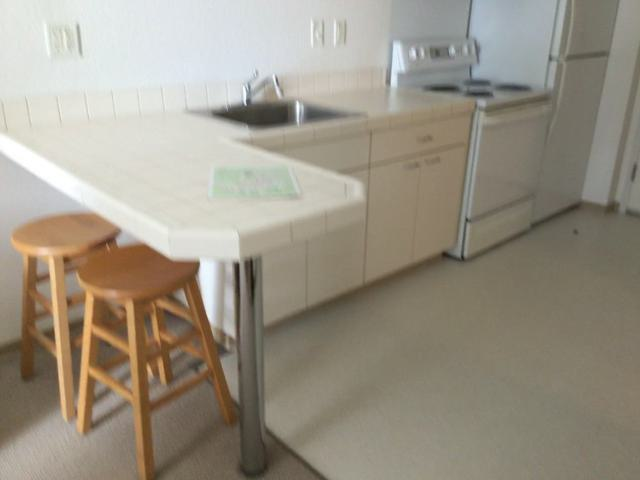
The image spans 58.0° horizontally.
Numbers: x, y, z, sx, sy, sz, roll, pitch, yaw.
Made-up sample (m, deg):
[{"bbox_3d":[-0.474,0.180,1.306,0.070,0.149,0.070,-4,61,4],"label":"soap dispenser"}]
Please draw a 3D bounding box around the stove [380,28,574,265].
[{"bbox_3d":[0.900,-0.610,3.440,0.780,1.210,0.680,-17,27,-39],"label":"stove"}]

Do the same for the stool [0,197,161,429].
[{"bbox_3d":[-0.930,0.230,2.140,0.410,0.610,0.530,-18,27,-39],"label":"stool"}]

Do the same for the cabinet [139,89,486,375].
[{"bbox_3d":[0.060,-0.170,2.770,1.610,0.930,0.540,-17,27,-39],"label":"cabinet"}]
